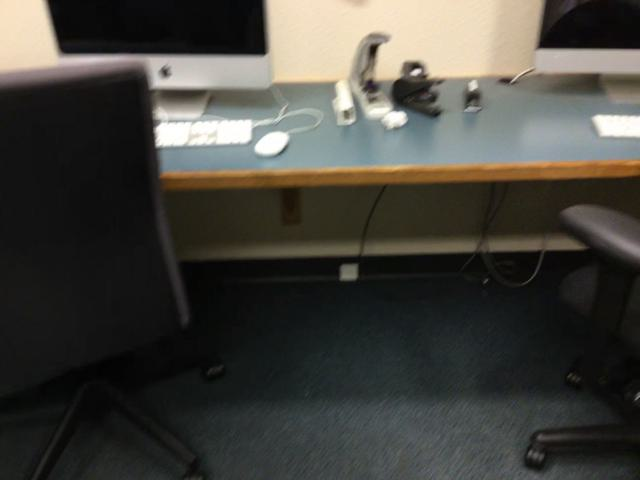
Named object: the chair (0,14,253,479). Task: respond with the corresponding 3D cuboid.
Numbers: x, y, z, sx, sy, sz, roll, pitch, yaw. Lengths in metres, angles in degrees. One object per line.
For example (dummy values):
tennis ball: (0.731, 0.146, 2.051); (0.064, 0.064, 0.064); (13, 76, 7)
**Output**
chair: (-0.550, 0.050, 1.330); (0.540, 0.960, 0.600); (-14, 32, -23)
